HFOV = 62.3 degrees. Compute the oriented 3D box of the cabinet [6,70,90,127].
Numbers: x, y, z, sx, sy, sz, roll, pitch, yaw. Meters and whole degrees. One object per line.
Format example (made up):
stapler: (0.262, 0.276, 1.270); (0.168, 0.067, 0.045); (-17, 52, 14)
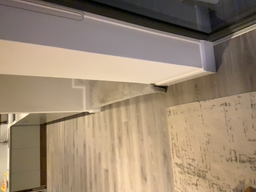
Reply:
cabinet: (-1.910, 0.240, 4.440); (3.450, 0.900, 0.590); (-17, 75, 55)
